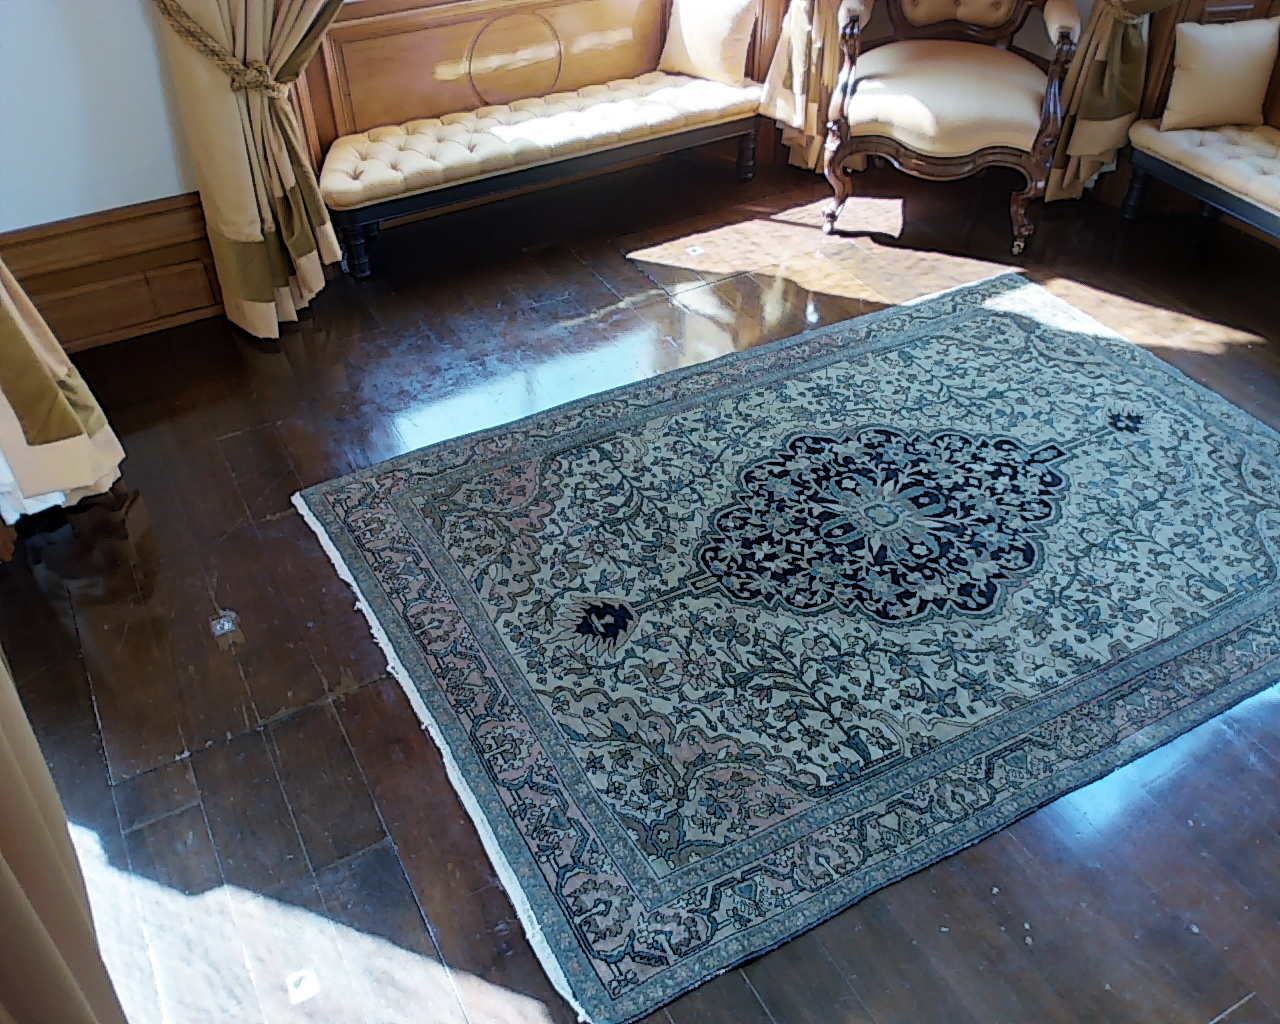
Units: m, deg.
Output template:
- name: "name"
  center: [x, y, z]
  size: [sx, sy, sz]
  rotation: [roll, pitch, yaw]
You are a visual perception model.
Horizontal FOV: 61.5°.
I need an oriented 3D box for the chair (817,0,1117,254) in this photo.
- name: "chair"
  center: [0.960, -1.480, 3.220]
  size: [0.680, 1.030, 0.870]
  rotation: [7, 43, 9]
